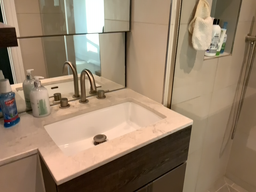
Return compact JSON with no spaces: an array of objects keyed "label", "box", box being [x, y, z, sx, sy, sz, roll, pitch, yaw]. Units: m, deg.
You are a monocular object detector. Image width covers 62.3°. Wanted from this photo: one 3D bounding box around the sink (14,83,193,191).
[{"label":"sink","box":[-0.120,0.160,0.980,0.610,0.190,0.530,-16,27,-34]}]
